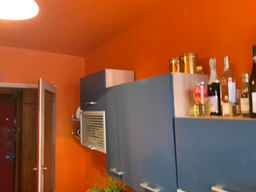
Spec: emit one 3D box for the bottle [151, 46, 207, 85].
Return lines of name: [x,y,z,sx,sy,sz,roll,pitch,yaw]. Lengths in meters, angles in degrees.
bottle: [0.320,-0.180,1.340,0.260,0.180,0.220,2,-5,-33]
